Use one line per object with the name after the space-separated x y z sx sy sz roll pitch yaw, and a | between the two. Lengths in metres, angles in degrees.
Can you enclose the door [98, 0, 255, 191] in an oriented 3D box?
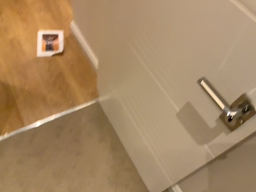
0.130 -0.210 0.650 0.060 1.970 0.680 -20 63 -23 | door
